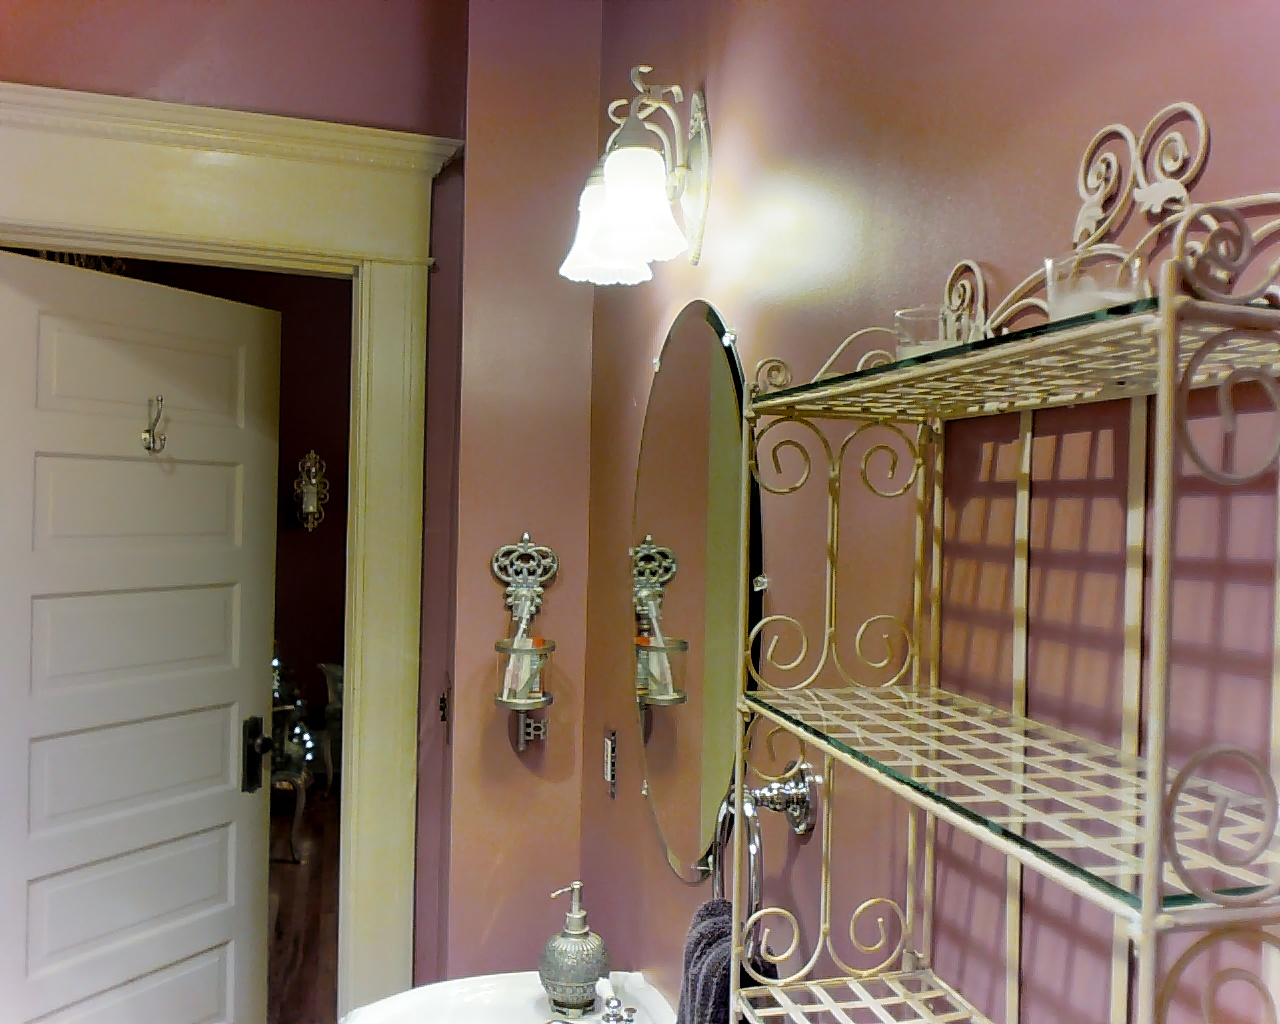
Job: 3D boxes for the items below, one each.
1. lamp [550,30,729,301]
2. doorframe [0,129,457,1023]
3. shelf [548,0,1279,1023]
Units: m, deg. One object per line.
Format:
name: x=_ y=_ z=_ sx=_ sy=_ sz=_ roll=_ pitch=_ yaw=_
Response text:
lamp: x=-0.010 y=-0.430 z=1.400 sx=0.160 sy=0.250 sz=0.280 roll=1 pitch=0 yaw=-15
doorframe: x=-0.950 y=0.430 z=2.160 sx=1.090 sy=2.271 sz=0.180 roll=1 pitch=0 yaw=-15
shelf: x=0.160 y=0.070 z=0.550 sx=0.320 sy=0.580 sz=0.580 roll=1 pitch=0 yaw=-13
